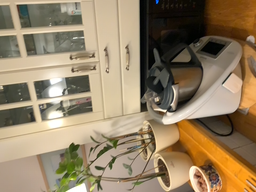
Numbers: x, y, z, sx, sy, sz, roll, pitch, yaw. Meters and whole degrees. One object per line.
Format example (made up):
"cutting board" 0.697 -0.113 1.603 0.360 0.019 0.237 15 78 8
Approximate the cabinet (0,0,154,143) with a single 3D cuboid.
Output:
"cabinet" -0.370 -0.210 1.050 0.400 0.900 0.650 -133 38 -60
